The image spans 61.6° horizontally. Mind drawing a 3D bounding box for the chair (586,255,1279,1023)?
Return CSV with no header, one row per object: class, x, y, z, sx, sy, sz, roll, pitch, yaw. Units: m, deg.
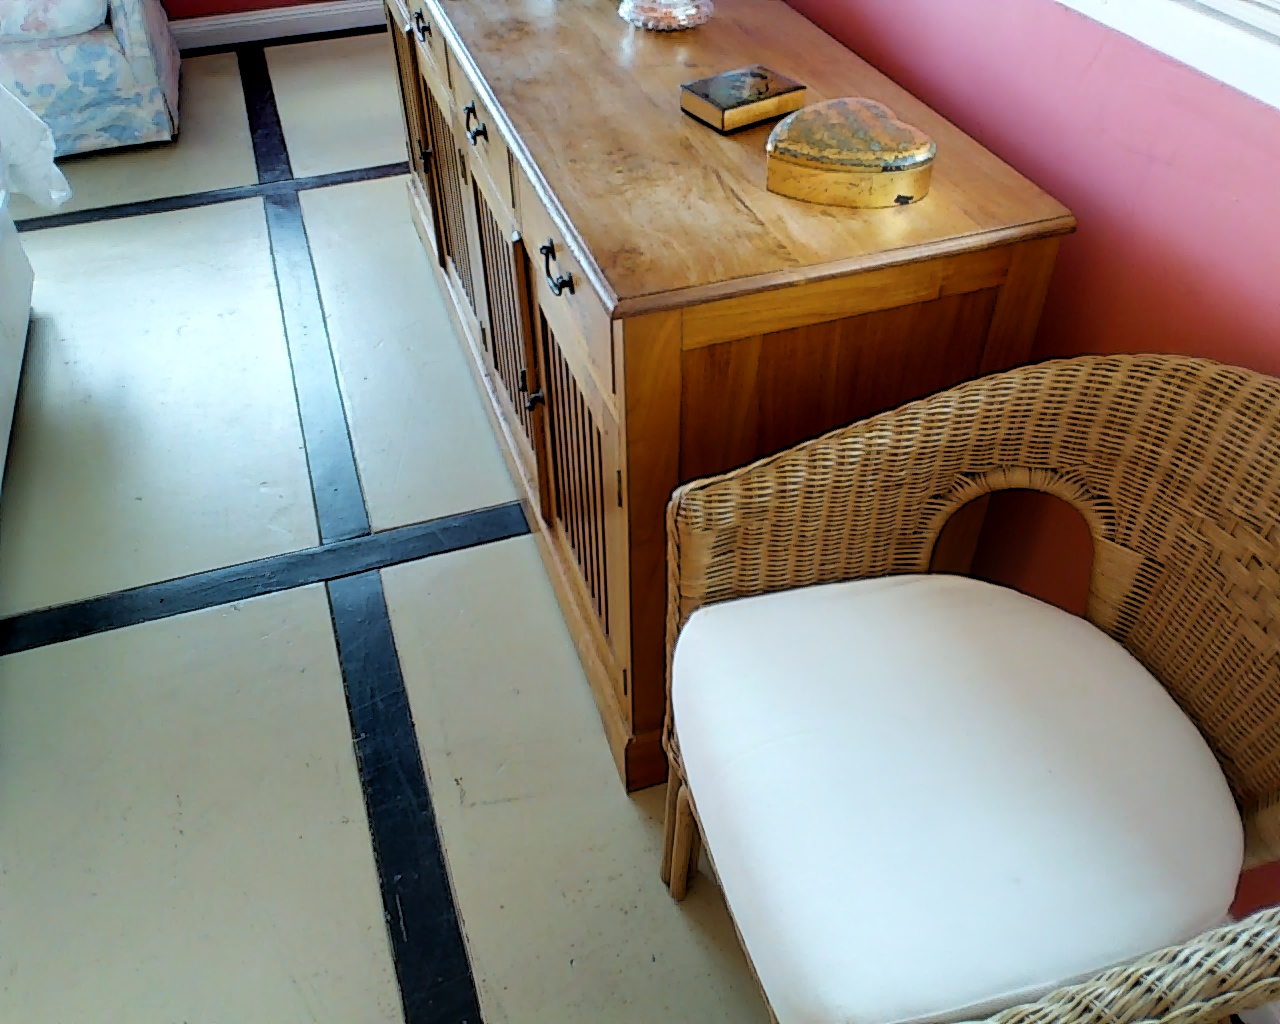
chair,0.370,0.290,1.060,0.660,0.750,0.650,-13,44,-14
